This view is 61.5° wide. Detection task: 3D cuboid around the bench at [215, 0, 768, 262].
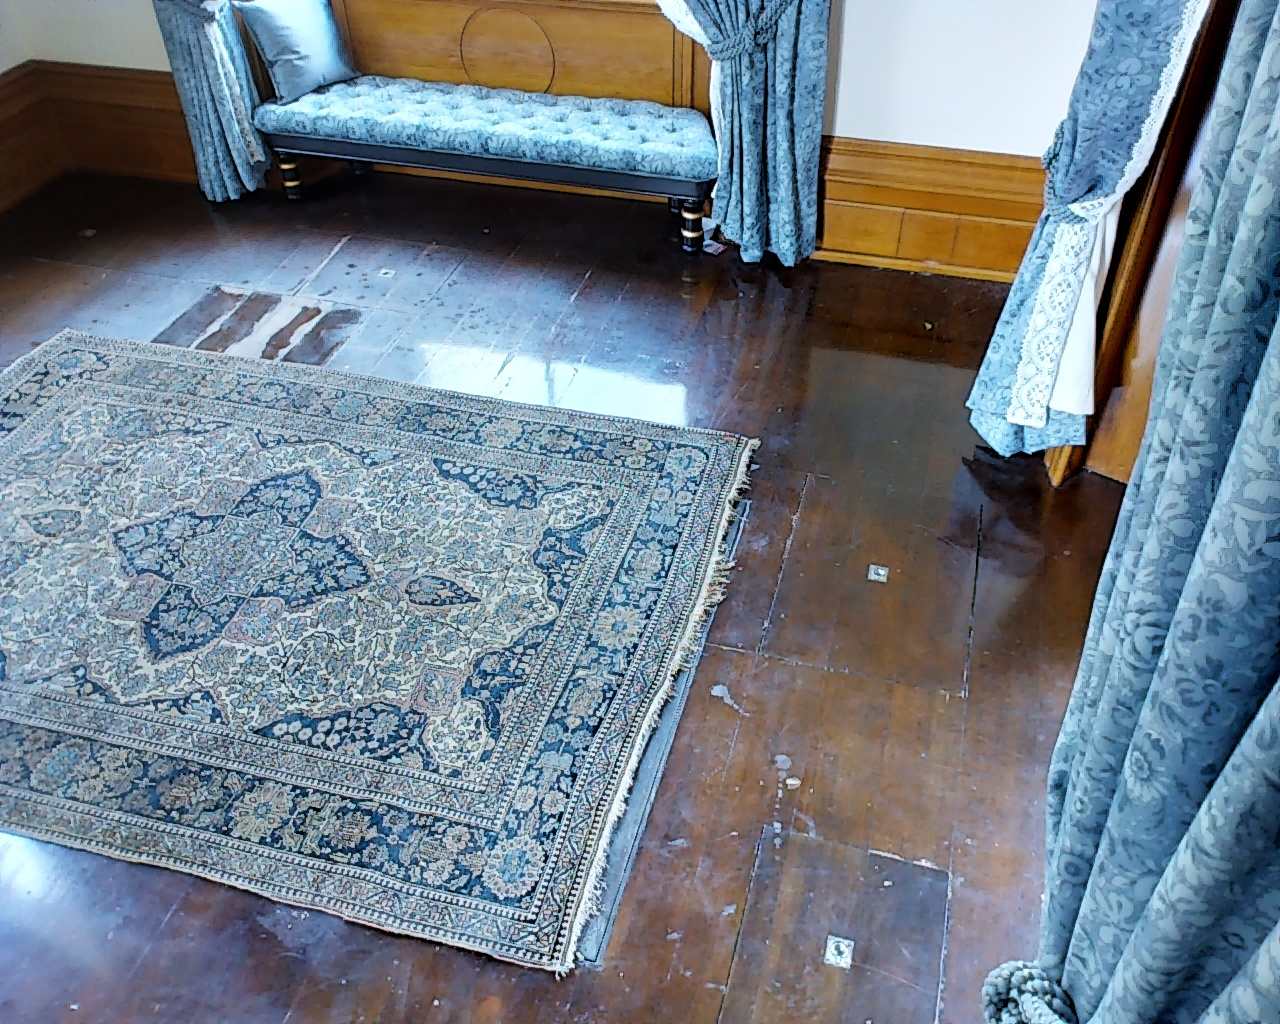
[{"bbox_3d":[-0.430,-1.250,3.300,1.530,0.580,0.460,12,44,13],"label":"bench"}]
